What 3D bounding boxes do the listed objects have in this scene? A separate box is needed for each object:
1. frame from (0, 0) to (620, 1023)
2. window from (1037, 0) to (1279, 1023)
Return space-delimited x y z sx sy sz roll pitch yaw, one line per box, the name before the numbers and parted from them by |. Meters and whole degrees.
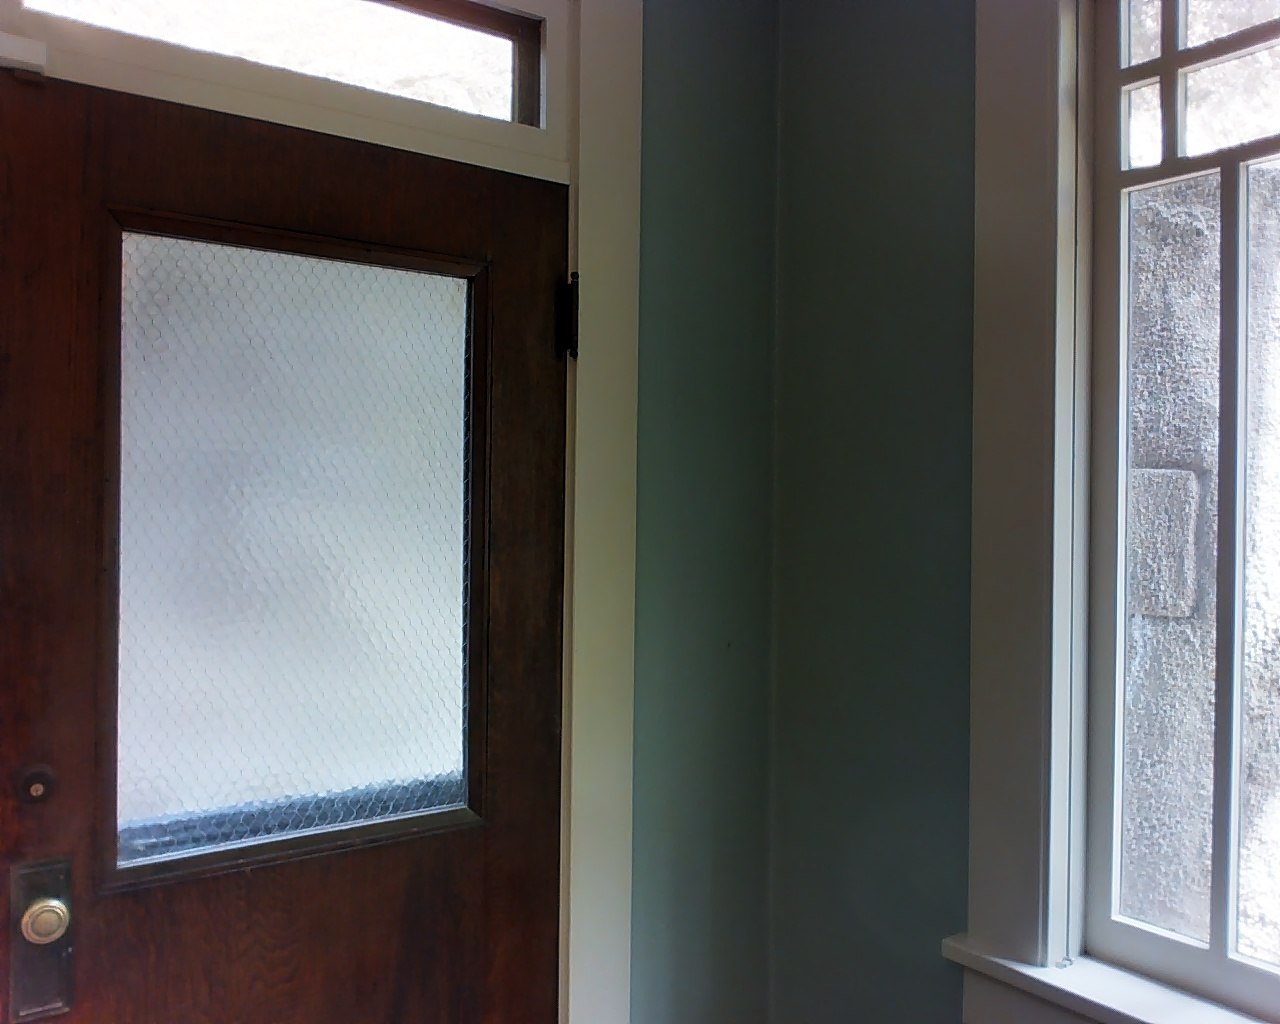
frame | -0.480 0.300 1.680 0.980 2.430 0.080 1 1 -36
window | 0.980 -0.060 1.390 0.150 1.630 0.920 1 1 -36
